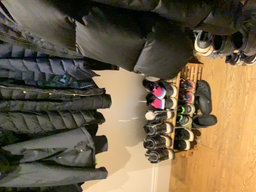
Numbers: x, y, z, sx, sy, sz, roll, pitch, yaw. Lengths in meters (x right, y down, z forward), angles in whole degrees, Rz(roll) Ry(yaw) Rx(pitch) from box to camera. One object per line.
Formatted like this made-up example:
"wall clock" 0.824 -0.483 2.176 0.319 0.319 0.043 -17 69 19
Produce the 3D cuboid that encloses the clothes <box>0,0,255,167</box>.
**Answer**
"clothes" -0.160 -0.270 0.670 1.170 0.930 0.380 18 107 54

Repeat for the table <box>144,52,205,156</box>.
"table" 0.390 0.050 1.840 0.290 0.320 0.820 19 108 54

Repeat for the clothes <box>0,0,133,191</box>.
"clothes" -0.500 0.170 1.170 0.300 0.970 1.270 19 108 54
